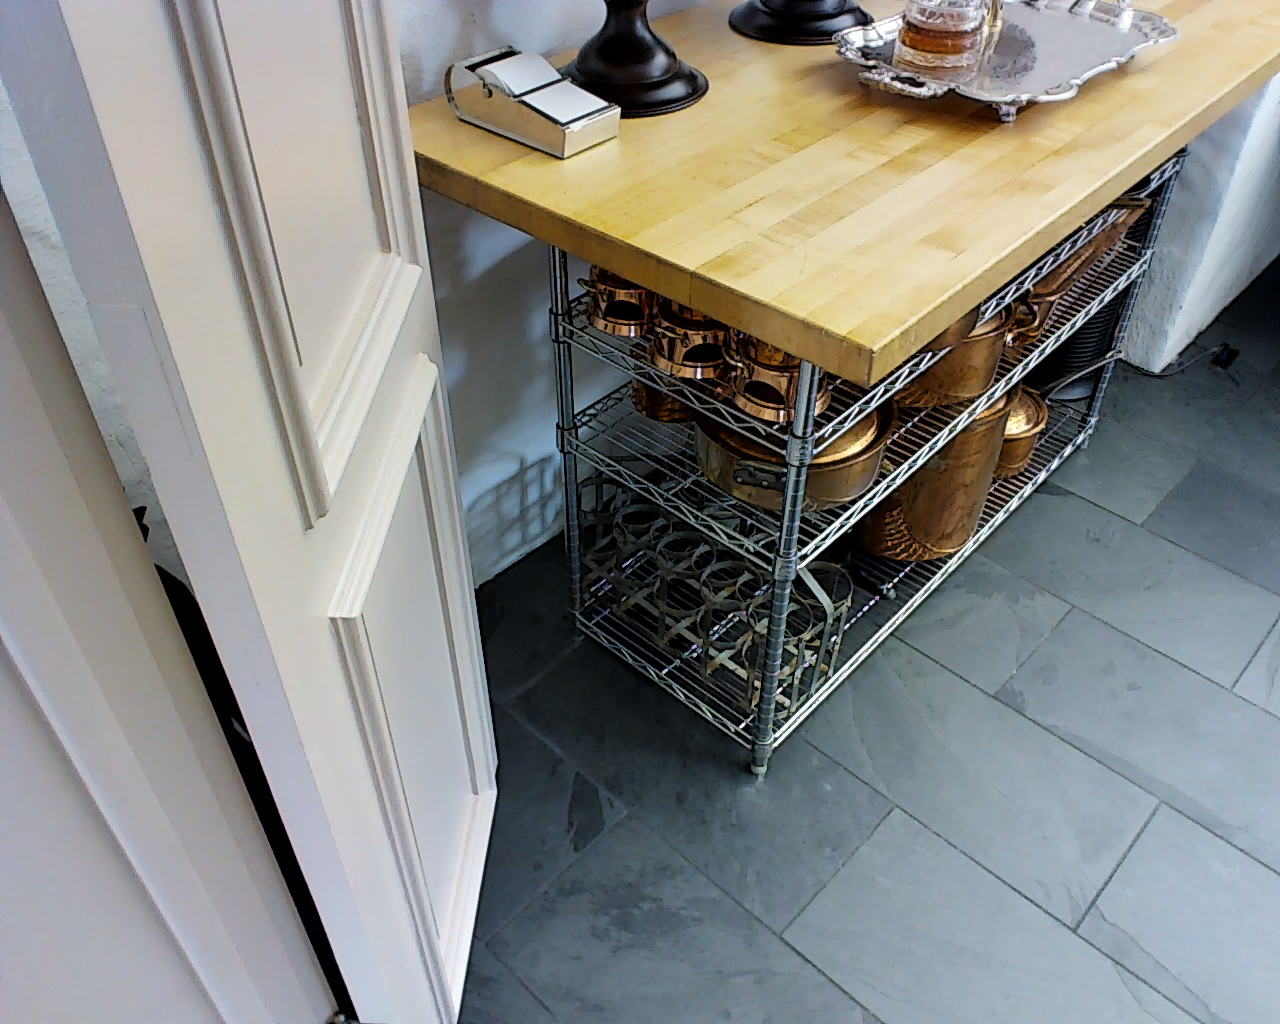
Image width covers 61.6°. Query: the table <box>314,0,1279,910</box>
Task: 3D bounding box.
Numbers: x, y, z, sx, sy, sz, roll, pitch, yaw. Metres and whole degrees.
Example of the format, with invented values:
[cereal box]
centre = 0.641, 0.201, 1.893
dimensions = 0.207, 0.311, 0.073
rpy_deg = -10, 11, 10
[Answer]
[table]
centre = 0.440, -0.360, 1.870
dimensions = 0.820, 0.950, 1.600
rpy_deg = 32, 50, 30
